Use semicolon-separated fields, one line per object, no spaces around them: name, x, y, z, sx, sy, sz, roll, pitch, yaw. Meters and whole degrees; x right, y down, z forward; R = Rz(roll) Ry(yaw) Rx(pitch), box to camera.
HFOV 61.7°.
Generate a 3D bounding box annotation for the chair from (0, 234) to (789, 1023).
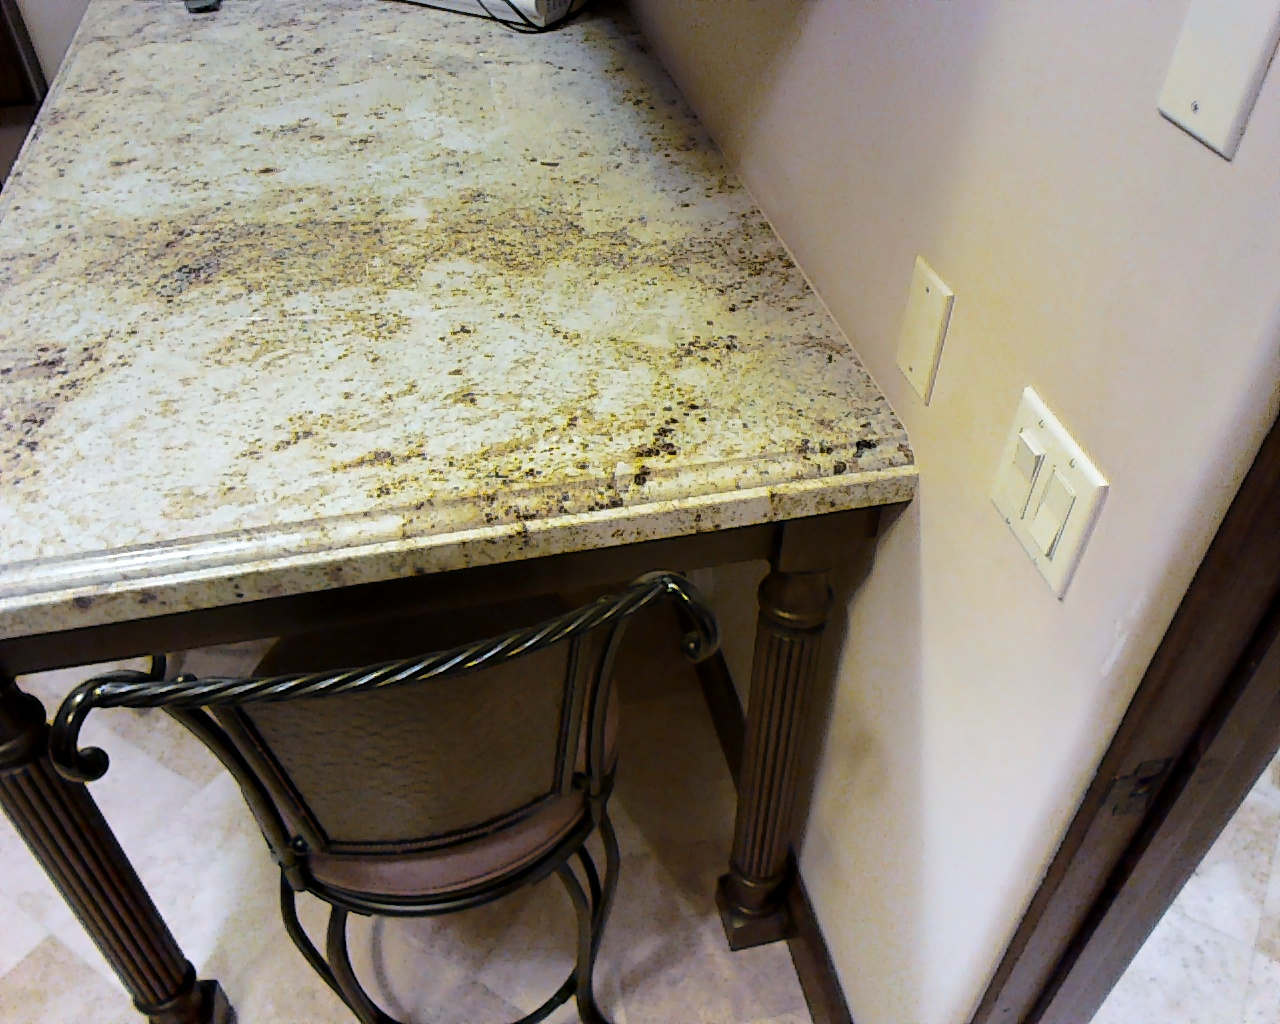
chair;-0.220;0.310;1.260;0.530;1.050;0.550;-9;43;-10
